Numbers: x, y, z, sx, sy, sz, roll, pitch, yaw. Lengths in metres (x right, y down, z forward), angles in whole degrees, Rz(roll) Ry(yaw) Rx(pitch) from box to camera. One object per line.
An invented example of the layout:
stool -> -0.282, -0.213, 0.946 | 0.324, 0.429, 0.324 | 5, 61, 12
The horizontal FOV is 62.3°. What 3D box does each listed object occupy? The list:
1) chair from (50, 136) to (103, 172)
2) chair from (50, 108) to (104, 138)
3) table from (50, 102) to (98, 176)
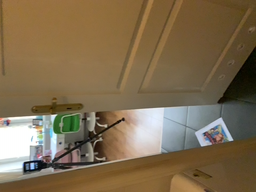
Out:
chair -> -0.910, 0.980, 3.710 | 0.520, 0.790, 0.360 | 7, 97, 61
chair -> -0.880, 0.430, 3.630 | 0.520, 0.790, 0.360 | 7, 97, 61
table -> -1.010, 0.750, 3.910 | 0.420, 0.750, 1.180 | 18, 107, 59
